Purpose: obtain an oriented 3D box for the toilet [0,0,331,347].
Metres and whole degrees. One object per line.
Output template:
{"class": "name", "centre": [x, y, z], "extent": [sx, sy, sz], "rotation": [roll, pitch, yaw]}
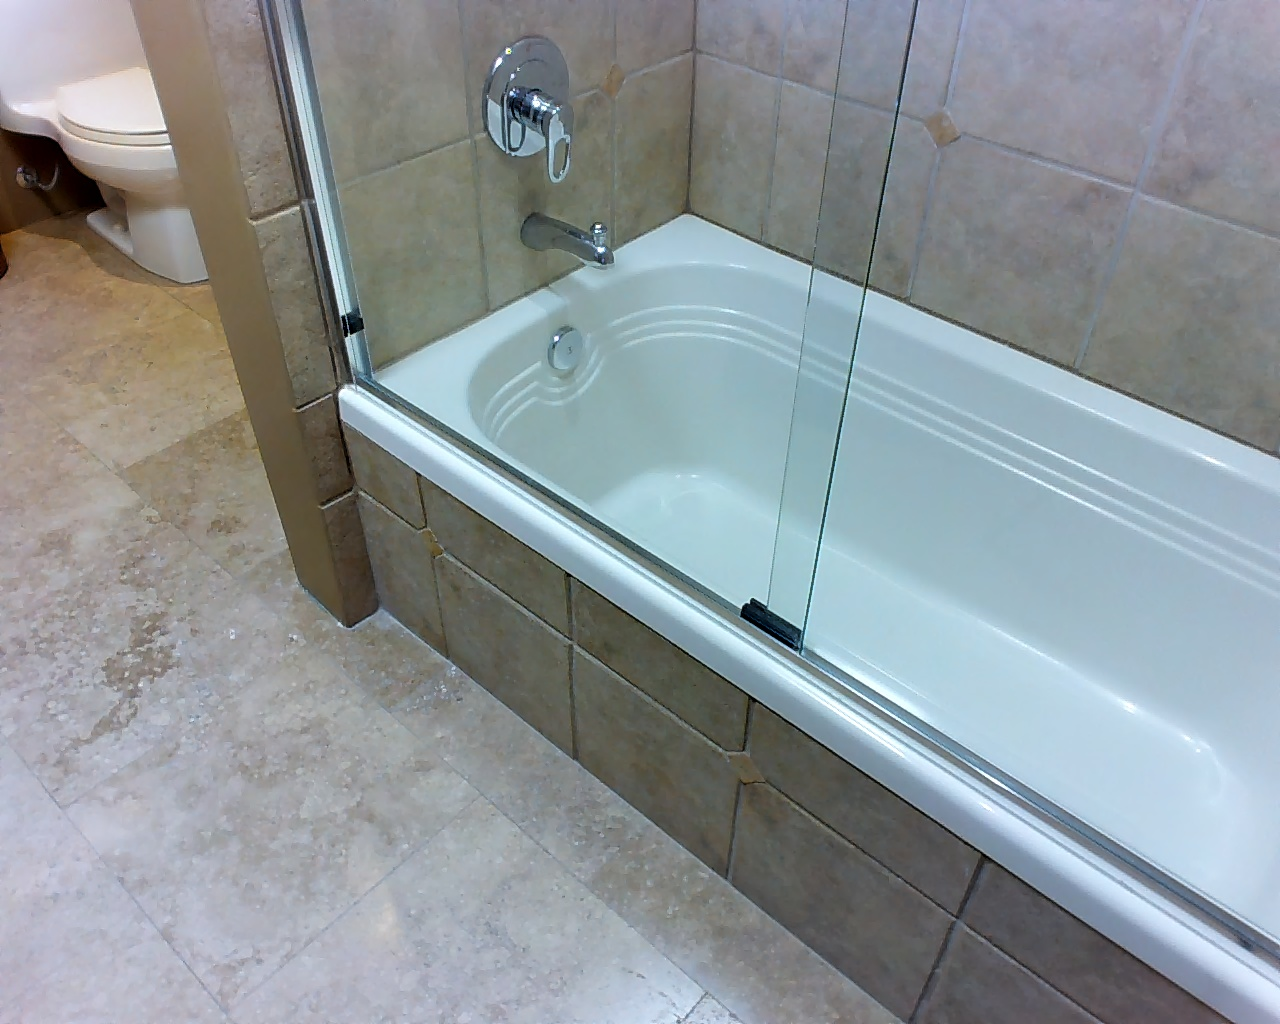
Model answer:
{"class": "toilet", "centre": [-1.310, -0.990, 2.770], "extent": [0.730, 0.750, 0.530], "rotation": [32, 51, 30]}
